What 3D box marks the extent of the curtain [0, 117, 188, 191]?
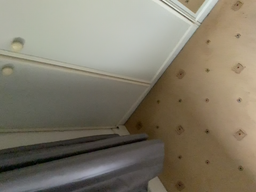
[{"bbox_3d":[-0.500,0.290,0.610,0.290,1.910,0.360,-55,52,24],"label":"curtain"}]
